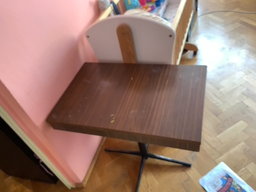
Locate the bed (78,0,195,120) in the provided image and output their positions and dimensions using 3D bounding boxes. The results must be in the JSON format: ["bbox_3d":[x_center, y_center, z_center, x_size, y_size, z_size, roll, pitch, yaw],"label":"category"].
[{"bbox_3d":[0.190,-0.460,1.620,0.540,0.800,0.930,5,48,19],"label":"bed"}]
